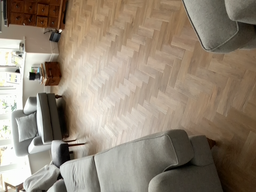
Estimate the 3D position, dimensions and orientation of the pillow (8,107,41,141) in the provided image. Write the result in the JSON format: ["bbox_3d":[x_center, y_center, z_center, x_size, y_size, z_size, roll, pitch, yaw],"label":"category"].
[{"bbox_3d":[-1.990,0.530,4.060,0.490,0.460,0.150,65,-175,14],"label":"pillow"}]

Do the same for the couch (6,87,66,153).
[{"bbox_3d":[-1.790,0.470,4.040,1.050,0.790,0.920,-34,66,52],"label":"couch"}]
